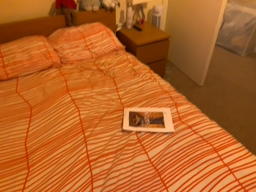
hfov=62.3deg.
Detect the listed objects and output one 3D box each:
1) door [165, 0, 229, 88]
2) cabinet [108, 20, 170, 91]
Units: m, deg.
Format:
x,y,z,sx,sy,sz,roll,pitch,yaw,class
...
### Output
x,y,z,sx,sy,sz,roll,pitch,yaw,class
0.680,-1.040,2.000,0.040,1.910,0.710,-16,42,-20,door
0.100,-0.470,2.380,0.450,0.540,0.500,-20,44,-24,cabinet
